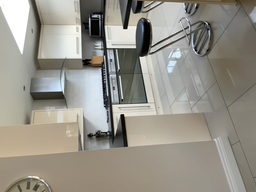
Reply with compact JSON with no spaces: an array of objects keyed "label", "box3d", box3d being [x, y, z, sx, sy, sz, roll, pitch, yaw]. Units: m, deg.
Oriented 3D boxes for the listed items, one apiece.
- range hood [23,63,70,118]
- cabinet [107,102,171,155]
[{"label":"range hood","box3d":[-1.440,-0.120,3.860,0.310,0.690,0.960,105,160,-57]},{"label":"cabinet","box3d":[0.130,0.540,3.510,0.580,0.880,0.630,106,159,-59]}]
